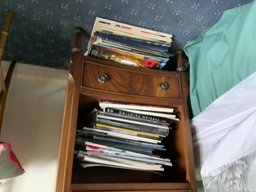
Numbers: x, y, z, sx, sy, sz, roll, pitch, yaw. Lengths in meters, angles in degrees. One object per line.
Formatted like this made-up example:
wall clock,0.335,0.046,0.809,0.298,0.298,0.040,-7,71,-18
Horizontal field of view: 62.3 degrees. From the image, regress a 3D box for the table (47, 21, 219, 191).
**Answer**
table,-0.010,0.150,0.880,0.540,0.700,0.380,5,160,-15
